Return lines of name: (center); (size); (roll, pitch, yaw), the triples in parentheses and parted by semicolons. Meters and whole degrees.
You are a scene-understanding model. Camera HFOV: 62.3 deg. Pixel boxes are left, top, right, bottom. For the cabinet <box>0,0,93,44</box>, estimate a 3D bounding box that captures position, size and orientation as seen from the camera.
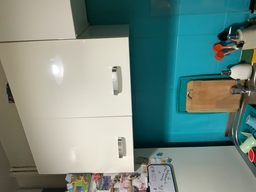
cabinet: (-0.390, -0.570, 0.880); (0.330, 0.370, 0.620); (-91, -1, -63)
